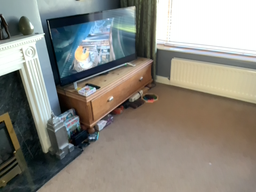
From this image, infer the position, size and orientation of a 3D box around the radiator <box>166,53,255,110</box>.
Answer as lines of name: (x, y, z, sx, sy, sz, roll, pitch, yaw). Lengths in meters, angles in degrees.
radiator: (1.510, -0.150, 2.870, 2.070, 0.540, 0.180, 17, 34, 31)

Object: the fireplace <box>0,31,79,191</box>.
fireplace: (-1.130, 0.280, 1.570, 0.510, 1.180, 1.380, 17, 34, 31)
